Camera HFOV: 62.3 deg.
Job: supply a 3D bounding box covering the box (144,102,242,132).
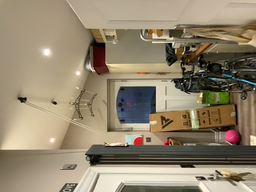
[{"bbox_3d":[1.030,0.380,3.660,0.680,1.460,0.390,90,180,-74],"label":"box"}]
